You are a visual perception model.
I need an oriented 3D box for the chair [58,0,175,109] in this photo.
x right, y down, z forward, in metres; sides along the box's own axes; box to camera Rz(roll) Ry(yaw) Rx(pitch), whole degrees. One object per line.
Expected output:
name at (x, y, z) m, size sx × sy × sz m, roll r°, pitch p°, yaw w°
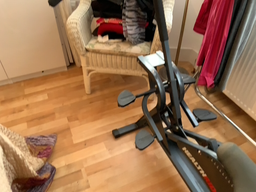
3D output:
chair at (-0.030, -0.470, 1.670) m, size 0.680 × 0.880 × 0.610 m, roll 8°, pitch 43°, yaw 7°
